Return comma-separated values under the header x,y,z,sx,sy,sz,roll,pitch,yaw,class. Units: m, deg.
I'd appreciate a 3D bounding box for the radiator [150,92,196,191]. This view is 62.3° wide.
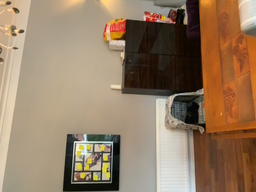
x,y,z,sx,sy,sz,roll,pitch,yaw,class
0.750,1.140,3.550,0.140,0.740,2.380,128,145,-76,radiator
